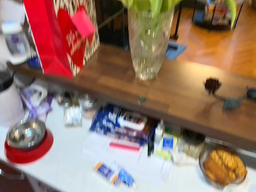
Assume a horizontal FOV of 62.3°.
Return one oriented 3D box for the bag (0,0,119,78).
[{"bbox_3d":[-0.230,-0.320,0.770,0.280,0.330,0.320,16,43,16],"label":"bag"}]
